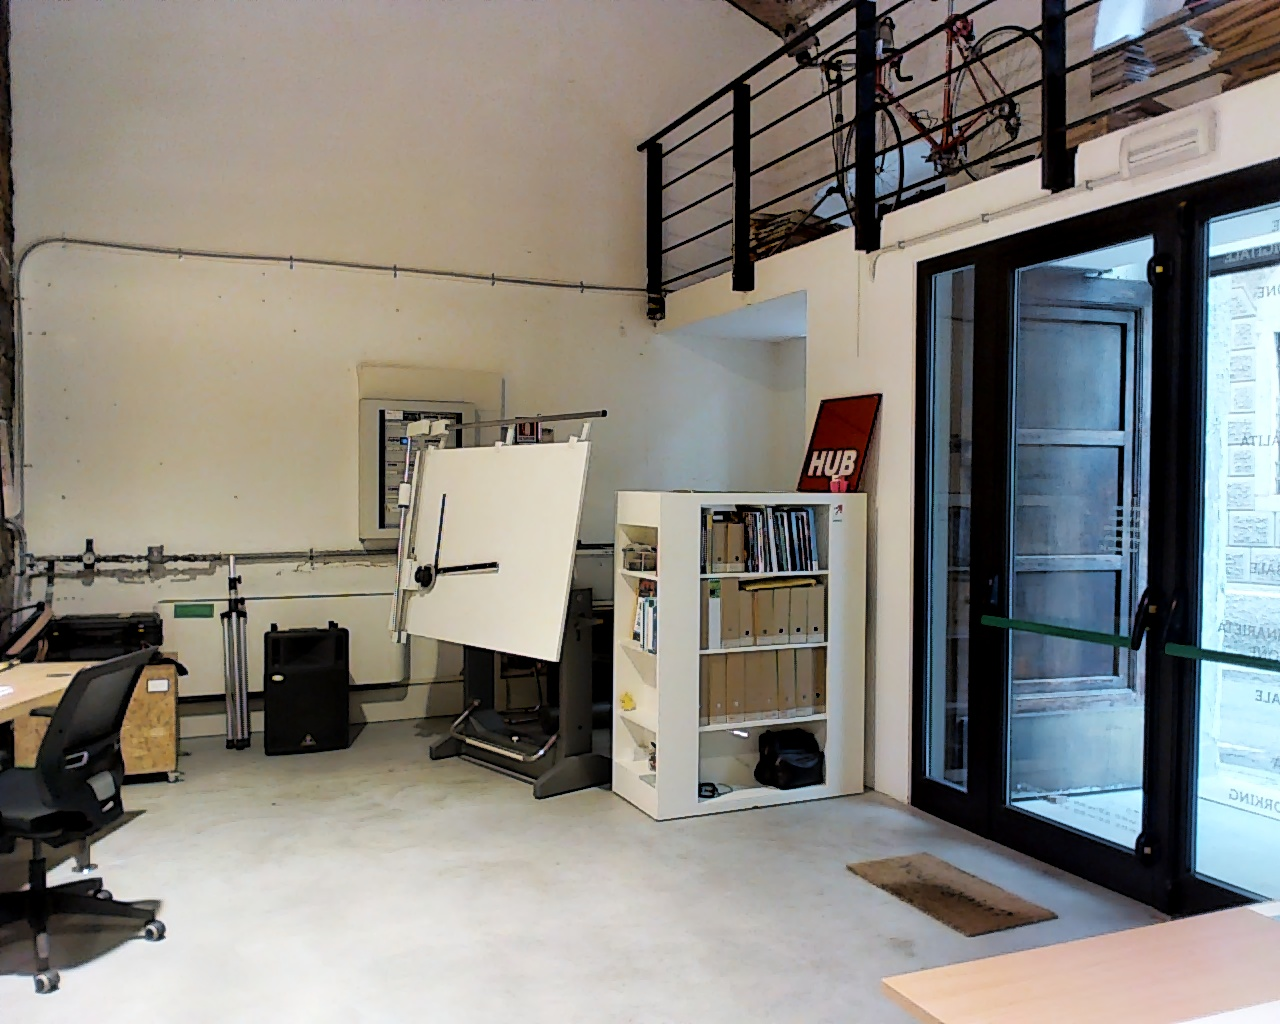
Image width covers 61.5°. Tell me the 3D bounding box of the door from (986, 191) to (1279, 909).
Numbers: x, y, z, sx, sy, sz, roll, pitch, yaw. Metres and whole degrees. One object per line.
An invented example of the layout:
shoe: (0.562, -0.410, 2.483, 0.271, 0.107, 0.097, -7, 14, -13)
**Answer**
door: (1.879, 0.110, 3.730, 0.190, 2.211, 1.680, 0, 1, -25)
